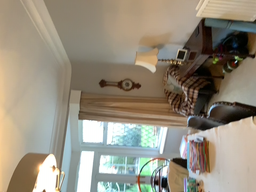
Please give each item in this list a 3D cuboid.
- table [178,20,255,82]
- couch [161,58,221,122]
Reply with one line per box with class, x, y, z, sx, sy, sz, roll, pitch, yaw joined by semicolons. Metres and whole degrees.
table;1.180;-0.590;3.030;0.880;0.680;0.450;106;168;-74
couch;1.080;-0.120;3.890;0.870;0.690;0.780;-91;6;-56
